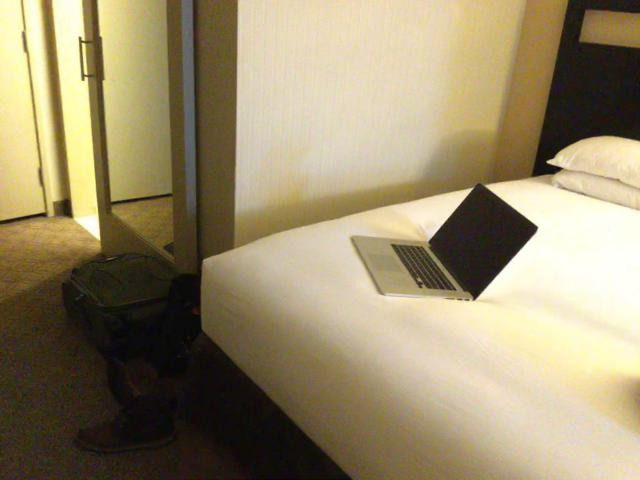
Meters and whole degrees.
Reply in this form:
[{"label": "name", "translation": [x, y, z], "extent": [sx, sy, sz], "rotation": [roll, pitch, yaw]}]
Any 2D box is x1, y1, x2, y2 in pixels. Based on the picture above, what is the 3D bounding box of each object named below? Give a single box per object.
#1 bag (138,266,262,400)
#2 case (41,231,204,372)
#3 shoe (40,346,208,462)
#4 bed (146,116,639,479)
[{"label": "bag", "translation": [-0.450, 0.330, 2.170], "extent": [0.330, 0.320, 0.320], "rotation": [-14, 26, -41]}, {"label": "case", "translation": [-0.840, 0.220, 2.430], "extent": [0.380, 0.280, 0.690], "rotation": [-14, 26, -41]}, {"label": "shoe", "translation": [-0.630, 0.530, 1.930], "extent": [0.400, 0.130, 0.380], "rotation": [6, 19, 6]}, {"label": "bed", "translation": [0.840, 0.280, 1.800], "extent": [2.150, 1.030, 1.540], "rotation": [-14, 26, -41]}]
